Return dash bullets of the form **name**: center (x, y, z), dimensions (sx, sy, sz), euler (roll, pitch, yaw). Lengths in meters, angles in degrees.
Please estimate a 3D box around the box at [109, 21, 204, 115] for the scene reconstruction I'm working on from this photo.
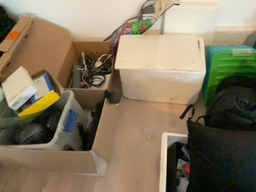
- **box**: center (0.250, -0.240, 1.780), dimensions (0.640, 0.490, 0.540), euler (7, 51, 10)
